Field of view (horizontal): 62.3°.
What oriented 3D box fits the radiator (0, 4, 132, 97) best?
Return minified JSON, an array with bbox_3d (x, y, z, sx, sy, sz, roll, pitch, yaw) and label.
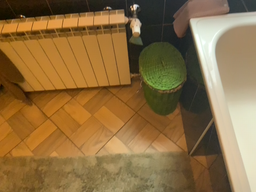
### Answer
[{"bbox_3d":[-0.380,-0.230,1.350,0.770,0.660,0.130,-3,60,3],"label":"radiator"}]
